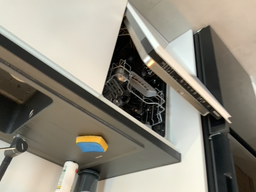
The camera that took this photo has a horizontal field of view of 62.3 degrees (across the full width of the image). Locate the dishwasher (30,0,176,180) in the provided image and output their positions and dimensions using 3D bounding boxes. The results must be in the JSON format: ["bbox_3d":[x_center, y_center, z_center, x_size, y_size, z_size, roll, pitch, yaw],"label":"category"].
[{"bbox_3d":[-0.090,-0.050,1.280,0.420,0.880,0.600,36,134,-28],"label":"dishwasher"}]

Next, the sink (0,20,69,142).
[{"bbox_3d":[-0.550,-0.050,0.810,0.400,0.180,0.490,36,134,-28],"label":"sink"}]
